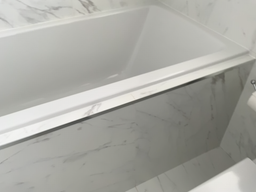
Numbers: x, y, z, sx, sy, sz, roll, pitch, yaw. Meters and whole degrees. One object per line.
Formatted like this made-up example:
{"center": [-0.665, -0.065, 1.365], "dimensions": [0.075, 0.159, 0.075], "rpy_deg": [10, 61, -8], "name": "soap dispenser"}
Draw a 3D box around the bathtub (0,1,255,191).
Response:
{"center": [-0.390, 0.090, 0.980], "dimensions": [1.620, 0.570, 0.720], "rpy_deg": [-19, 44, -20], "name": "bathtub"}
